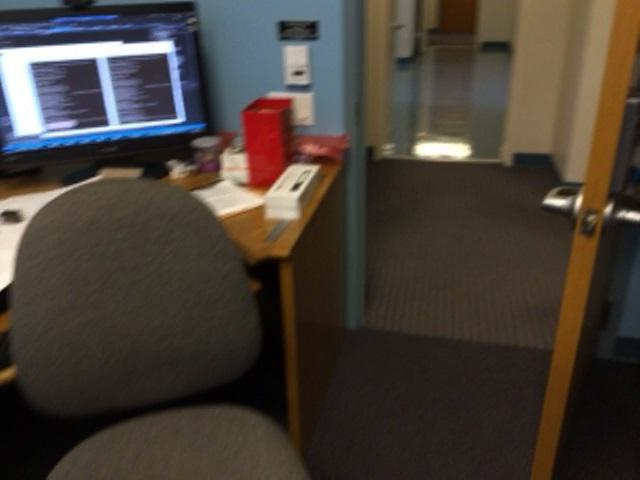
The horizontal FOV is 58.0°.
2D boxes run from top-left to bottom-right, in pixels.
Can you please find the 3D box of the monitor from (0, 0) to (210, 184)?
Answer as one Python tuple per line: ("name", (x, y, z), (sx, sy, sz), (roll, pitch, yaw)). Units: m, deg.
("monitor", (-0.690, -0.480, 1.770), (0.620, 0.500, 0.260), (-9, 25, -21))
